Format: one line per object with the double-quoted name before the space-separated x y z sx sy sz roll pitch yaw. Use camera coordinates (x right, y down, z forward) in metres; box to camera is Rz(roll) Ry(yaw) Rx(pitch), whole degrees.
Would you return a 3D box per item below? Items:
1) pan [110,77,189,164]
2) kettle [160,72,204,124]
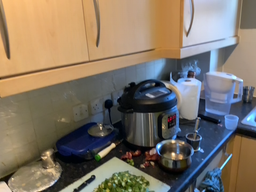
"pan" 0.110 0.090 1.020 0.250 0.290 0.270 13 24 41
"kettle" 0.330 0.000 1.300 0.160 0.240 0.230 13 24 41
